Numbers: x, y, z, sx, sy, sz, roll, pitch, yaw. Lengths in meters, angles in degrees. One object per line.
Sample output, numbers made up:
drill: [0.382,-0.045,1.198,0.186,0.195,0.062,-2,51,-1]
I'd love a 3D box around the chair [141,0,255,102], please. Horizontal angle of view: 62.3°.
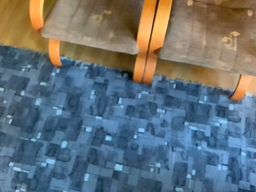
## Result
chair: [0.520,-0.540,1.130,0.690,0.990,0.720,12,68,3]

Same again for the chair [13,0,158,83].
chair: [-0.140,-0.670,1.170,0.650,0.990,0.720,12,68,3]
